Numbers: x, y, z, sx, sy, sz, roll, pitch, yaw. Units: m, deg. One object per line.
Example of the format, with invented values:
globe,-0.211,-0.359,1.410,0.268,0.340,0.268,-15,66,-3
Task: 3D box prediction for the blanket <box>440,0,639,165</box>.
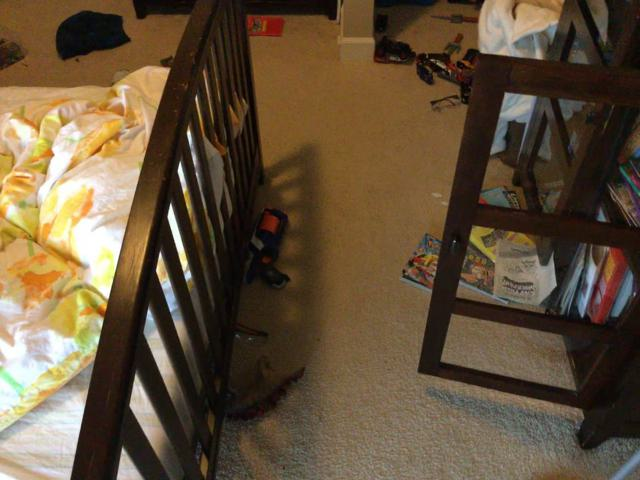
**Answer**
blanket,0.780,-0.610,1.940,0.620,0.490,0.490,2,48,1
